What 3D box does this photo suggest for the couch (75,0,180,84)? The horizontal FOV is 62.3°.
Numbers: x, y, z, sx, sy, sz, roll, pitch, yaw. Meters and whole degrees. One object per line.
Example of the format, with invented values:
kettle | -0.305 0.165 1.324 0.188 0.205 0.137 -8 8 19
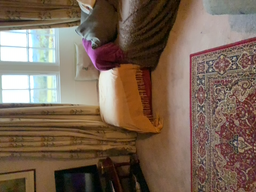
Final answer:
couch | -0.040 -1.190 2.200 1.090 0.720 1.830 -122 38 -50
